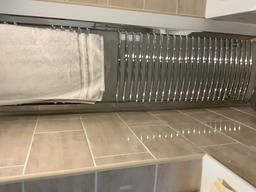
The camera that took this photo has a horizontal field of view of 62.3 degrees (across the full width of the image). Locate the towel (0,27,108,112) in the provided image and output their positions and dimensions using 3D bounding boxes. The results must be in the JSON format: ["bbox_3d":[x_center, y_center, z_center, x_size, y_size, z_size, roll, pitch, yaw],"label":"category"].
[{"bbox_3d":[-0.410,-0.120,1.000,0.100,0.610,0.360,-145,56,-68],"label":"towel"}]
